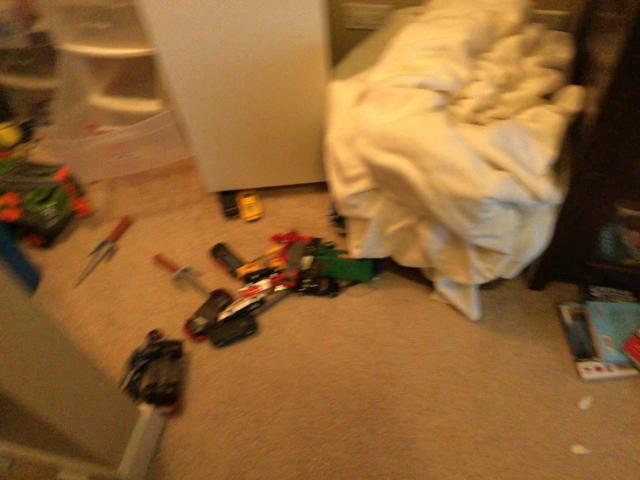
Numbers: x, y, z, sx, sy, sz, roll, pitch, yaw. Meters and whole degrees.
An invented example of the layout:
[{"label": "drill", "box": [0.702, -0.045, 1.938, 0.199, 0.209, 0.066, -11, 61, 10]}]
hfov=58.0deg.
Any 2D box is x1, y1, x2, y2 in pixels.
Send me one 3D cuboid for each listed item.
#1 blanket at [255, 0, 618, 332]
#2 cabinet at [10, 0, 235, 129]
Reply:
[{"label": "blanket", "box": [0.260, -0.210, 1.280, 0.570, 0.500, 0.570, 7, 54, 14]}, {"label": "cabinet", "box": [-0.510, -0.620, 1.580, 0.350, 0.450, 0.400, 7, 54, 14]}]
